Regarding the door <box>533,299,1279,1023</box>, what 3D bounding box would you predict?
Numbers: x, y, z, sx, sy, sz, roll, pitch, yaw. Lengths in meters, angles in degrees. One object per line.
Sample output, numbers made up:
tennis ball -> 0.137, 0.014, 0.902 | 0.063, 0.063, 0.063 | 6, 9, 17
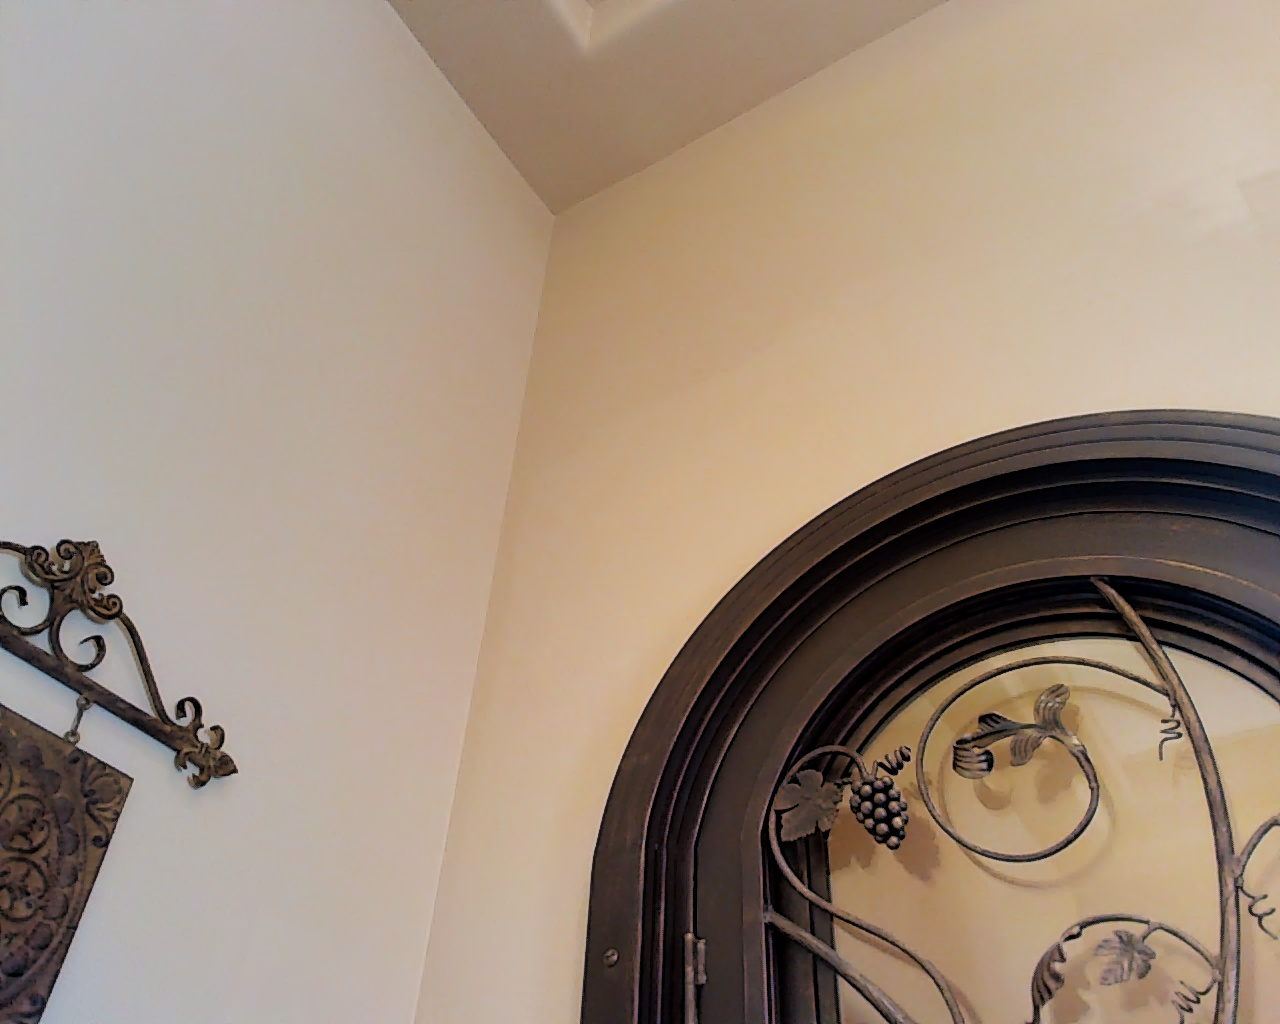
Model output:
door -> 0.380, 0.830, 0.540 | 1.200, 2.530, 0.080 | -21, -48, 25
